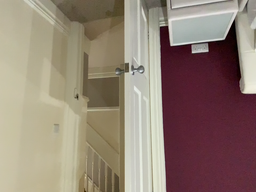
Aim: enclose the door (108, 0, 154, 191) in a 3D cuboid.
[{"bbox_3d":[0.050,0.020,1.580,0.140,2.030,0.770,-3,169,14],"label":"door"}]
